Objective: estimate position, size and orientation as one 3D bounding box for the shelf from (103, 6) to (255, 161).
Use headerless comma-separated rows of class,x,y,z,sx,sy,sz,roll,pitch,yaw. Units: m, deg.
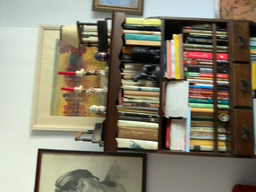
shelf,0.390,-0.060,1.290,0.360,0.990,0.790,84,-171,-82
